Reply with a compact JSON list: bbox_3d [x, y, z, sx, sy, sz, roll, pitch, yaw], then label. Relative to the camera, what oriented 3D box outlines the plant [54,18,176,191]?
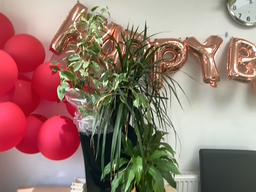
[{"bbox_3d":[-0.080,0.130,1.160,0.520,0.950,0.410,2,5,-4],"label":"plant"}]
